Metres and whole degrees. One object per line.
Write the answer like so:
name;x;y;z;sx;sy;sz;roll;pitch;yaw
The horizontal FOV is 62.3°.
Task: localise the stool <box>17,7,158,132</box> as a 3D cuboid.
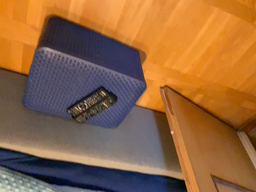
stool;-0.180;-0.090;0.960;0.480;0.250;0.350;17;130;-22
